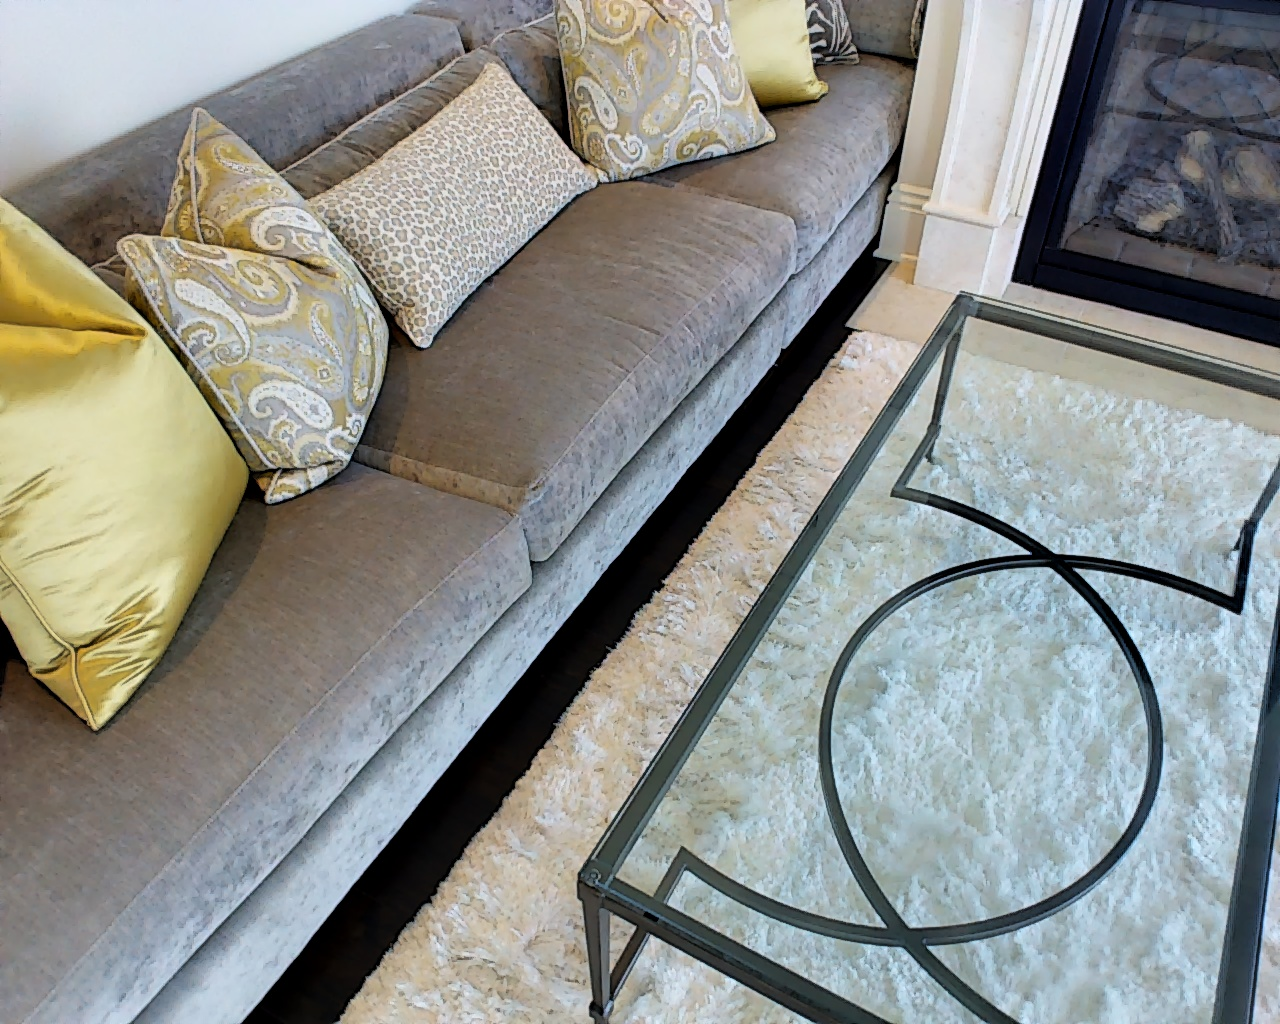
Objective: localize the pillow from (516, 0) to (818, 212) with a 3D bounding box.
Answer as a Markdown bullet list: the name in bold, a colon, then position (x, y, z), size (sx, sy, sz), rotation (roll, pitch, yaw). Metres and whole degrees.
- **pillow**: position (0.060, -1.030, 2.480), size (0.530, 0.560, 0.340), rotation (-7, 29, -34)

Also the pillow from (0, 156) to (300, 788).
- **pillow**: position (-0.730, -0.100, 1.360), size (0.320, 0.550, 0.620), rotation (12, 27, 6)

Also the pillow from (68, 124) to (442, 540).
- **pillow**: position (-0.570, -0.310, 1.680), size (0.320, 0.490, 0.500), rotation (13, 24, 6)

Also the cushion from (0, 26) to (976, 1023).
- **cushion**: position (-0.170, -0.320, 2.120), size (0.660, 0.220, 3.410), rotation (20, 45, 22)
